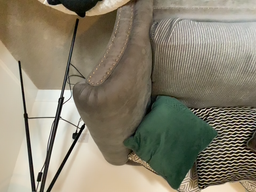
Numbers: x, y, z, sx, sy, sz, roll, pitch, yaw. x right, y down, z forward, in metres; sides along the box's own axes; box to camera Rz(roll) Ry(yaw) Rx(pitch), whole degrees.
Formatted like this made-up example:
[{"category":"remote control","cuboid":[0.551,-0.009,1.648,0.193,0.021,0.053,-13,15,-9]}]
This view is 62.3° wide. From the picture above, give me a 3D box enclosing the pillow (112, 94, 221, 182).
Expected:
[{"category":"pillow","cuboid":[0.200,0.240,1.240,0.520,0.440,0.250,0,150,5]}]
